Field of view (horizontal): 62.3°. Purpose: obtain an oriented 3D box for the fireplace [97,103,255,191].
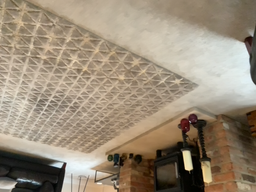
[{"bbox_3d":[0.480,1.240,2.640,0.930,1.380,2.050,22,143,-26],"label":"fireplace"}]
